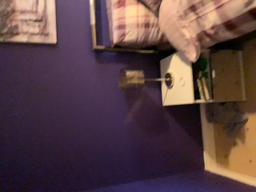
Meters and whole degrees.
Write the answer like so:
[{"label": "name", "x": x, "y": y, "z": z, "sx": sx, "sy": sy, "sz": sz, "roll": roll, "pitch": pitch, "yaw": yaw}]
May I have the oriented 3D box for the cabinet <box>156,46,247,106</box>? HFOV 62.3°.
[{"label": "cabinet", "x": 0.580, "y": -0.140, "z": 1.740, "sx": 0.420, "sy": 0.530, "sz": 0.400, "roll": 169, "pitch": 98, "yaw": -68}]
